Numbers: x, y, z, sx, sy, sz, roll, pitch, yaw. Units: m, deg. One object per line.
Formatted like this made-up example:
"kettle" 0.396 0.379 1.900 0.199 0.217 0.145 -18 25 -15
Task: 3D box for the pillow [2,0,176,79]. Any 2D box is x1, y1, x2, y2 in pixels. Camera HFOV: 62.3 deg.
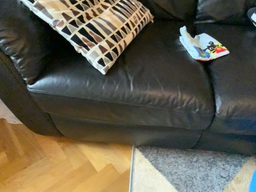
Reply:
"pillow" -0.200 -0.390 0.870 0.410 0.170 0.650 -33 57 -29
